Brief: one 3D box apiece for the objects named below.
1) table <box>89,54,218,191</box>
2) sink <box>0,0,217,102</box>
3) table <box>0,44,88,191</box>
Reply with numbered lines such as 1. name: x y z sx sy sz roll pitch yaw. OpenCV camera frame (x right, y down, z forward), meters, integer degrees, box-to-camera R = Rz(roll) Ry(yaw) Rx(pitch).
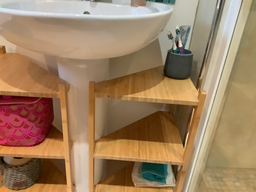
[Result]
1. table: 0.050 0.170 0.890 0.370 0.580 0.350 4 27 -2
2. sink: -0.130 -0.190 0.640 0.590 0.180 0.450 4 27 -2
3. table: -0.370 0.140 0.870 0.350 0.590 0.360 4 27 -2
